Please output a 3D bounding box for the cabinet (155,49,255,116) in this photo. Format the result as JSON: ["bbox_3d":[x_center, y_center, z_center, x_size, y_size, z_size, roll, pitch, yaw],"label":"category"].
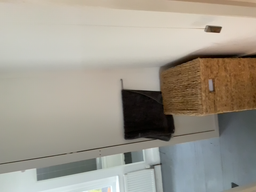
[{"bbox_3d":[0.660,-0.090,1.770,0.570,0.630,0.430,162,103,-69],"label":"cabinet"}]
